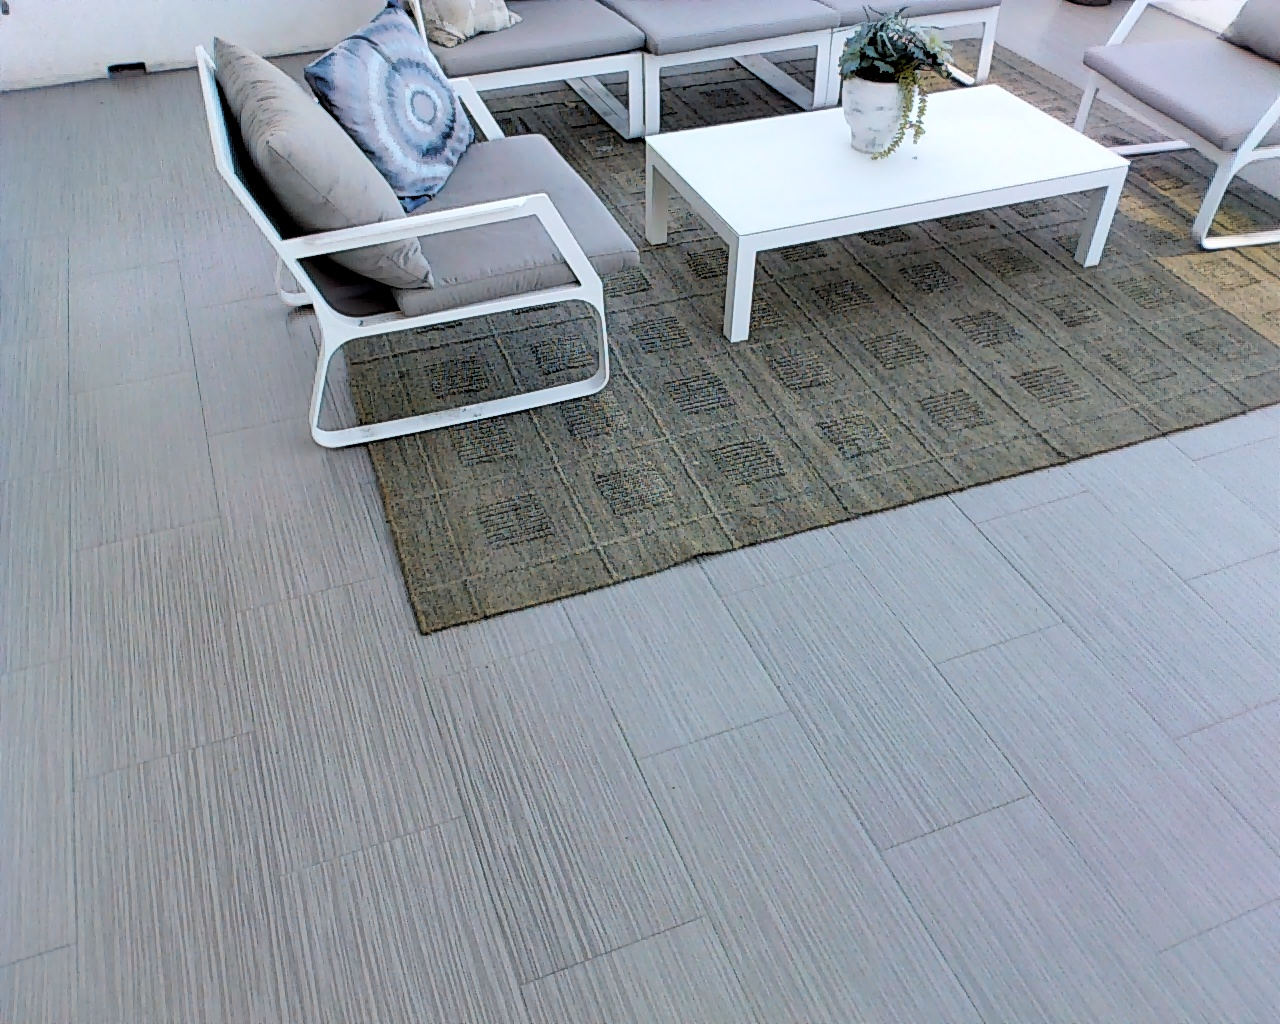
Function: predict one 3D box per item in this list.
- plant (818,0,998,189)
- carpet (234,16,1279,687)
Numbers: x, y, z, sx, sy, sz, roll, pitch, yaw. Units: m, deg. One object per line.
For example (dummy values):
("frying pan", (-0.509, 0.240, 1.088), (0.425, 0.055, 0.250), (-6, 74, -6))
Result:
("plant", (0.710, -1.160, 2.930), (0.270, 0.400, 0.350), (-14, 44, -16))
("carpet", (0.510, -0.940, 3.410), (3.139, 0.050, 2.780), (-15, 44, -17))
